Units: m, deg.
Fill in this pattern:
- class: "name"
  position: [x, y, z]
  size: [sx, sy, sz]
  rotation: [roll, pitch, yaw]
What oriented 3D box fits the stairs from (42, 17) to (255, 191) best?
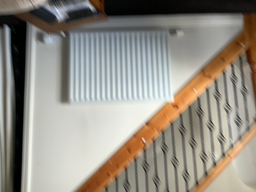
- class: "stairs"
  position: [0.260, 0.930, 2.500]
  size: [1.240, 4.570, 1.060]
  rotation: [50, 168, 8]
